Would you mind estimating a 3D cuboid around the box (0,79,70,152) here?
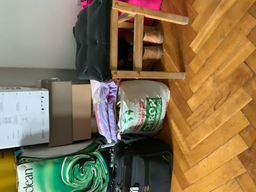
[{"bbox_3d":[-0.600,0.080,1.240,0.460,0.390,0.340,4,95,60],"label":"box"}]
